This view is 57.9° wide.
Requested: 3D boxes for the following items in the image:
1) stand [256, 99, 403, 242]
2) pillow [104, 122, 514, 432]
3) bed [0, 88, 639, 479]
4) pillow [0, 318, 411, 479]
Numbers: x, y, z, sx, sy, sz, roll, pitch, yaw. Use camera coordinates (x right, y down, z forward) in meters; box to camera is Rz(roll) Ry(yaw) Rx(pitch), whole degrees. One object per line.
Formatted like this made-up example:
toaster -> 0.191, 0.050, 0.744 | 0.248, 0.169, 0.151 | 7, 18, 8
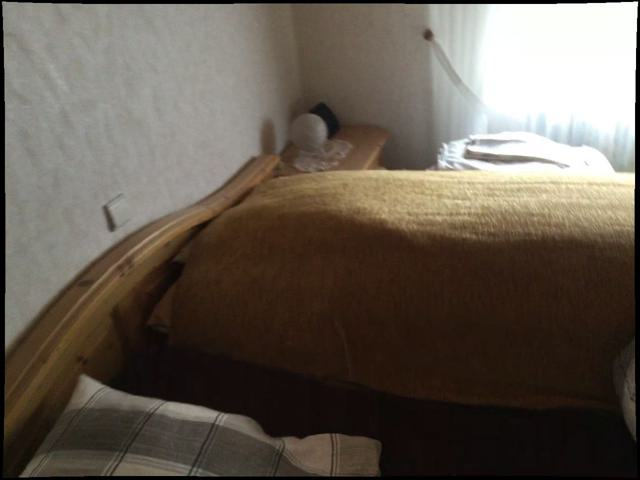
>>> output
stand -> 0.080, -0.350, 2.700 | 0.490, 0.420, 0.630 | 4, 33, 18
pillow -> 0.090, -0.020, 1.840 | 0.949, 0.320, 1.120 | 4, 33, 18
bed -> 0.509, 0.380, 1.470 | 2.268, 0.801, 2.400 | 4, 33, 18
pillow -> -0.300, 0.551, 1.060 | 0.789, 0.260, 0.830 | 4, 33, 18
